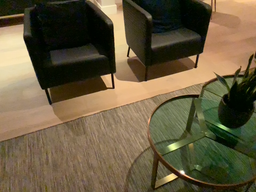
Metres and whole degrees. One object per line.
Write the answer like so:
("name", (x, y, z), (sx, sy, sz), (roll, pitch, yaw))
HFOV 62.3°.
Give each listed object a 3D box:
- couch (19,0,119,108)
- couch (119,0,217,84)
("couch", (-0.560, -0.470, 2.120), (0.730, 0.740, 0.690), (-15, 43, -17))
("couch", (0.380, -0.730, 2.450), (0.720, 0.710, 0.790), (-15, 43, -17))
